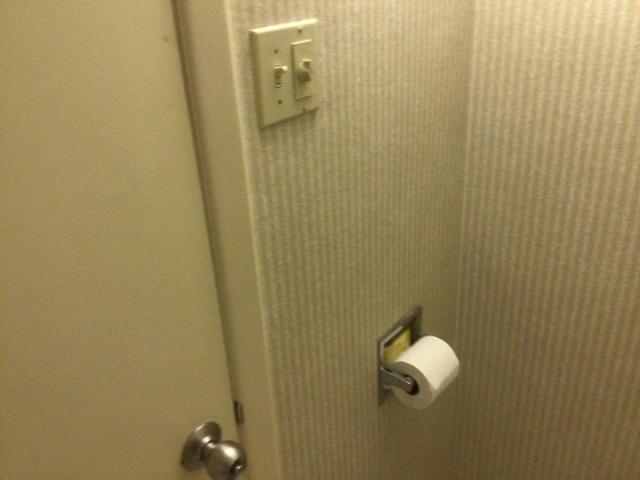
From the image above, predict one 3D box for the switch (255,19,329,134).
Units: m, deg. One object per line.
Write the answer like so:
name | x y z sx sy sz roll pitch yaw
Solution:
switch | -0.030 -0.200 0.700 0.020 0.120 0.110 16 29 34
